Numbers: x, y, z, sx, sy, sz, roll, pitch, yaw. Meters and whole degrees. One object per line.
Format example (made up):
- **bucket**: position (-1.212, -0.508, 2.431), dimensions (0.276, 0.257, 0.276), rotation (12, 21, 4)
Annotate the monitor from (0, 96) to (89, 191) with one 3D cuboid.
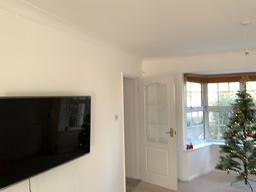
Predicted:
- **monitor**: position (-0.650, 0.310, 1.780), dimensions (0.070, 0.600, 0.960), rotation (-1, 1, 25)
